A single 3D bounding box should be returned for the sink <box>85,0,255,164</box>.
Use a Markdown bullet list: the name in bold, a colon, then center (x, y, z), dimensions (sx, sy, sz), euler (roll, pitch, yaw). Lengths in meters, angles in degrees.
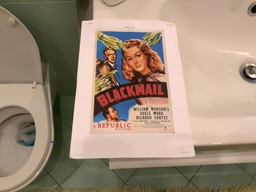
- **sink**: center (0.330, -0.120, 0.520), dimensions (0.830, 0.130, 0.500), euler (-2, 67, -2)
